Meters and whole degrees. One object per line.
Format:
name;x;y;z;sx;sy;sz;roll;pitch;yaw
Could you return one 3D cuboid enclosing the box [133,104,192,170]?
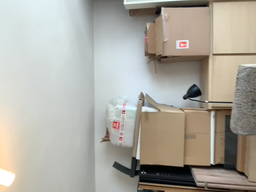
box;0.400;0.450;2.560;0.490;0.640;0.690;11;-100;-84
